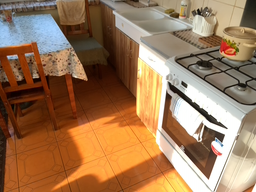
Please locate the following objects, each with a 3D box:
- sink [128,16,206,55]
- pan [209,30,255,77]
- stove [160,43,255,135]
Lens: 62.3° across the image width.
[{"bbox_3d":[0.350,-0.590,2.010,0.570,0.160,0.440,-13,38,-19],"label":"sink"},{"bbox_3d":[0.680,-0.270,1.320,0.210,0.190,0.210,-13,38,-19],"label":"pan"},{"bbox_3d":[0.620,-0.100,1.250,0.640,0.140,0.570,-13,38,-19],"label":"stove"}]
